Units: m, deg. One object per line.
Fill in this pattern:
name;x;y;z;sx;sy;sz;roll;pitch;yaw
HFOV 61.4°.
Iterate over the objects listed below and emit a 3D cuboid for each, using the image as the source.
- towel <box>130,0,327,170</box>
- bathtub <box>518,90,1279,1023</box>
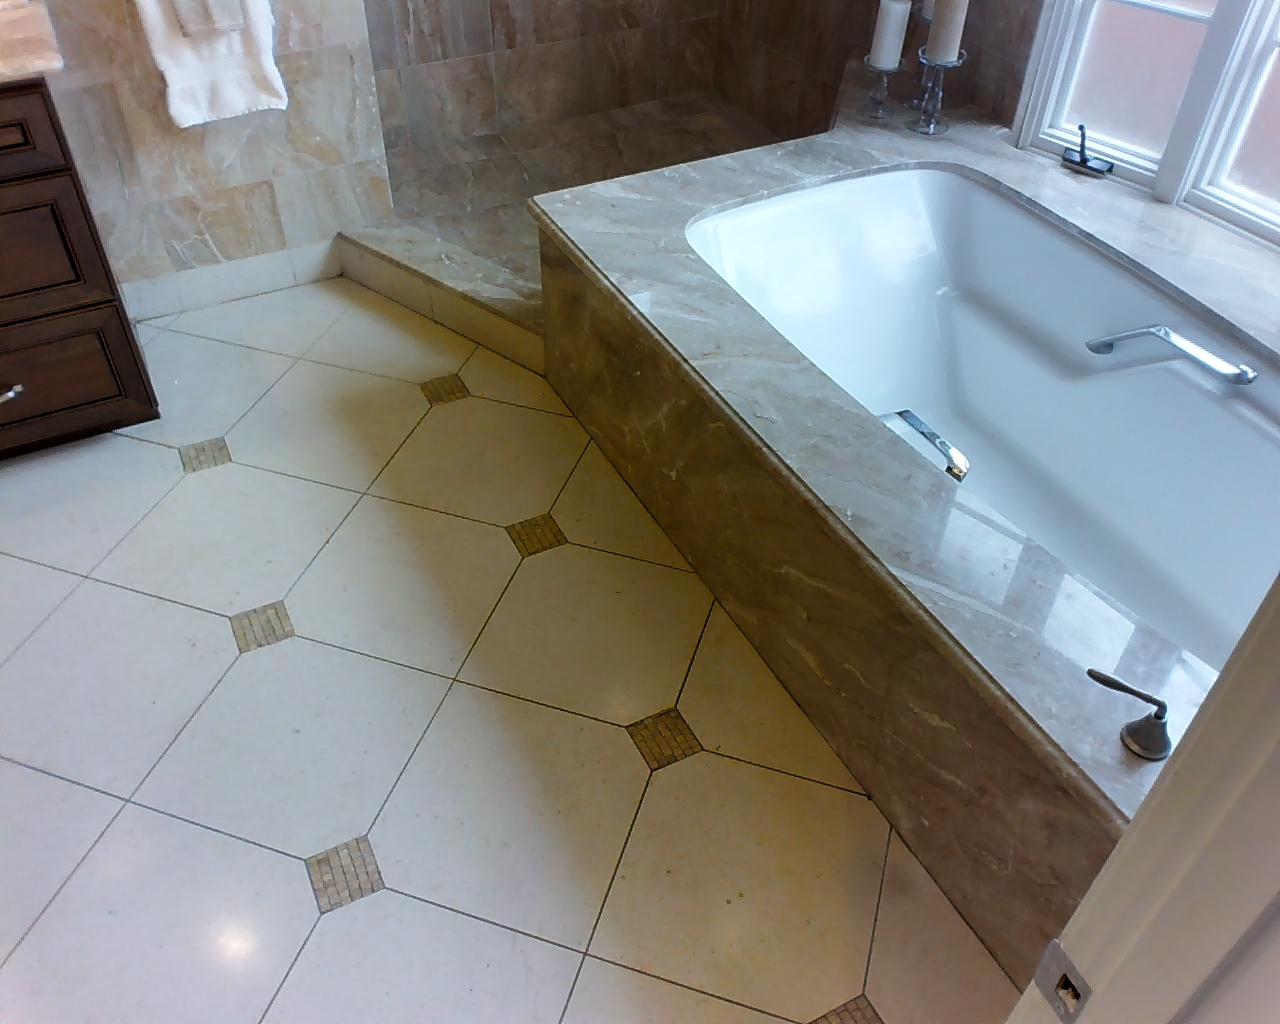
towel;-0.950;-1.120;2.430;0.340;0.600;0.160;-18;46;-20
bathtub;0.730;-0.120;2.150;1.270;0.570;1.910;-19;46;-20
